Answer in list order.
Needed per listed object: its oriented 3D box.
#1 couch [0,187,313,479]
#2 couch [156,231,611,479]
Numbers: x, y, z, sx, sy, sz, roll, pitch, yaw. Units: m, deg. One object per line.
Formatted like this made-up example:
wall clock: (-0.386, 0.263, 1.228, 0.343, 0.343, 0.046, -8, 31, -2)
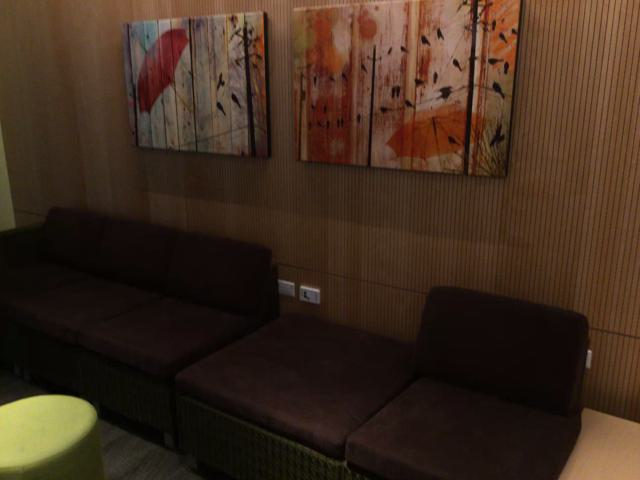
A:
couch: (-1.100, 0.300, 2.930, 1.910, 0.780, 0.860, 13, 16, 30)
couch: (0.200, 0.570, 2.150, 1.370, 0.840, 0.840, 13, 16, 30)
